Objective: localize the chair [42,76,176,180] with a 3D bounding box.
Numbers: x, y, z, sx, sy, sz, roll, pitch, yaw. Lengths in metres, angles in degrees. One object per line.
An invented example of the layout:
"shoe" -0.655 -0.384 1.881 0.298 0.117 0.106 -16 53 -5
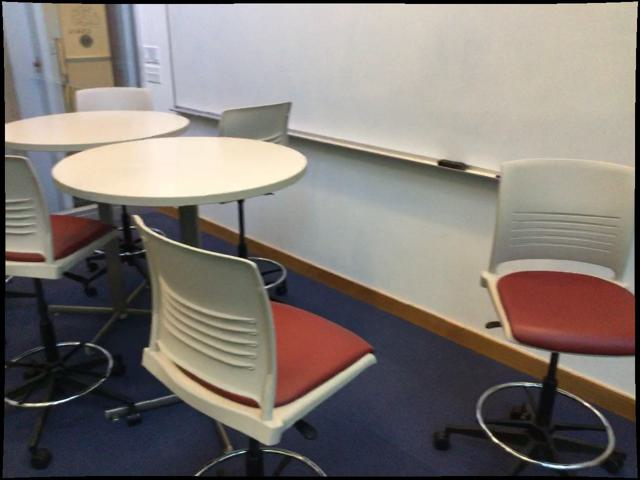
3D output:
"chair" -1.159 -0.661 3.310 0.559 0.460 0.620 -2 23 -7

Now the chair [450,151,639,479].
"chair" 0.779 0.340 1.890 0.529 1.121 0.590 3 23 6

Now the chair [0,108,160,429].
"chair" -1.099 0.080 2.290 0.599 1.061 0.610 5 23 9

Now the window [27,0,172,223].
"window" -1.628 -1.051 4.380 0.750 1.661 0.400 -20 31 -41

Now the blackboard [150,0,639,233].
"blackboard" 0.160 -0.851 3.040 0.130 0.801 3.768 -20 31 -41

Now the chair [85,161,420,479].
"chair" -0.170 0.430 1.590 0.550 1.111 0.580 -21 31 -41
